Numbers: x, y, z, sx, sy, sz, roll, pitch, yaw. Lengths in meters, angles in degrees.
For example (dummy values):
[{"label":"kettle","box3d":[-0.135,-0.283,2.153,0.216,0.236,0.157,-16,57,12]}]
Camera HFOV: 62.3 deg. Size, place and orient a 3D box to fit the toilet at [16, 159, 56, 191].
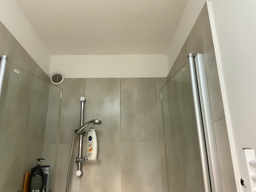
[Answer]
[{"label":"toilet","box3d":[-0.650,0.590,1.530,0.160,0.250,0.340,1,-17,-7]}]
